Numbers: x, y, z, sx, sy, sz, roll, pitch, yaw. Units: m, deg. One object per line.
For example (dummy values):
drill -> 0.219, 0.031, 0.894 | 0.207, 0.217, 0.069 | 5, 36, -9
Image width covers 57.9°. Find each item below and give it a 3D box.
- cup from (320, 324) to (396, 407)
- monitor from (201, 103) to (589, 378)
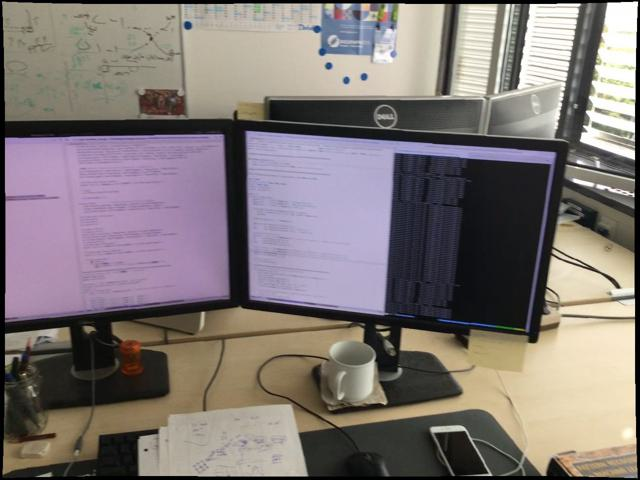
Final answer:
cup -> 0.070, 0.240, 1.120 | 0.110, 0.090, 0.120 | -6, 25, -15
monitor -> 0.110, 0.000, 1.060 | 0.609, 0.440, 0.130 | 5, 24, 7
